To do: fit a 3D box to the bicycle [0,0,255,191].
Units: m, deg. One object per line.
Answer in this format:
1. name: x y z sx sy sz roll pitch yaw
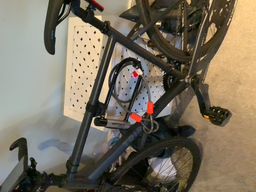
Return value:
1. bicycle: 0.040 -0.040 0.900 0.570 0.930 1.760 28 111 33
